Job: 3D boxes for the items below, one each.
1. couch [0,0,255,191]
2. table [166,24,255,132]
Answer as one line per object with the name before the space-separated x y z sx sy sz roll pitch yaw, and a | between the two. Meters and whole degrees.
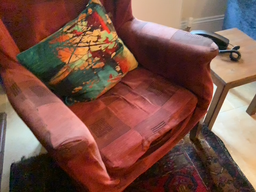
couch | -0.120 -0.140 0.920 0.750 0.940 0.840 -34 55 -28
table | 0.540 -0.120 1.280 0.430 0.400 0.420 -14 47 -13
